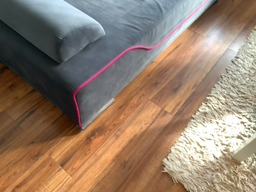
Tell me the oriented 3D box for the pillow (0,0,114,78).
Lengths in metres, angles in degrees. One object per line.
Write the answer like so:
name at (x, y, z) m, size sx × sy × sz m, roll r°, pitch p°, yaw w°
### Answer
pillow at (-0.420, -0.420, 1.020) m, size 0.630 × 0.200 × 0.360 m, roll 37°, pitch 61°, yaw 20°
